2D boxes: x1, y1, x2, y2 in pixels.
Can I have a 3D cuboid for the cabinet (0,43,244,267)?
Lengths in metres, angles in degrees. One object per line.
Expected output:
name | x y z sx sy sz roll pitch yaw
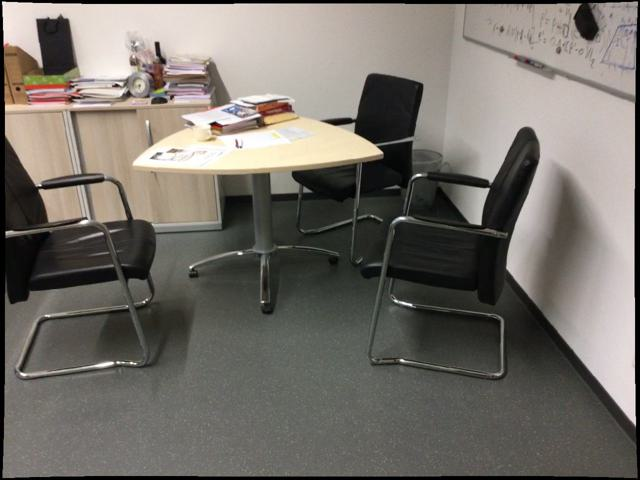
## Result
cabinet | -2.198 -0.470 3.300 3.427 1.081 0.770 -4 24 -6

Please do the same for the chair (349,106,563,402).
chair | 0.549 0.000 2.390 0.689 0.941 0.710 7 25 18

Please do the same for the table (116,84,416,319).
table | -0.260 -0.280 2.990 1.199 0.821 1.110 -4 24 -6
